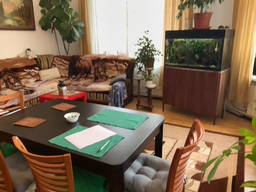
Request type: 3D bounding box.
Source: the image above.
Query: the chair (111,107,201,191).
[{"bbox_3d":[0.210,0.600,1.510,0.470,0.890,0.470,6,18,22],"label":"chair"}]

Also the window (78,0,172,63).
[{"bbox_3d":[-0.140,-1.980,4.550,2.150,2.390,0.250,8,19,26],"label":"window"}]

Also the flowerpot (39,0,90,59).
[{"bbox_3d":[-1.460,-1.690,4.880,0.890,1.540,0.620,12,21,35],"label":"flowerpot"}]
